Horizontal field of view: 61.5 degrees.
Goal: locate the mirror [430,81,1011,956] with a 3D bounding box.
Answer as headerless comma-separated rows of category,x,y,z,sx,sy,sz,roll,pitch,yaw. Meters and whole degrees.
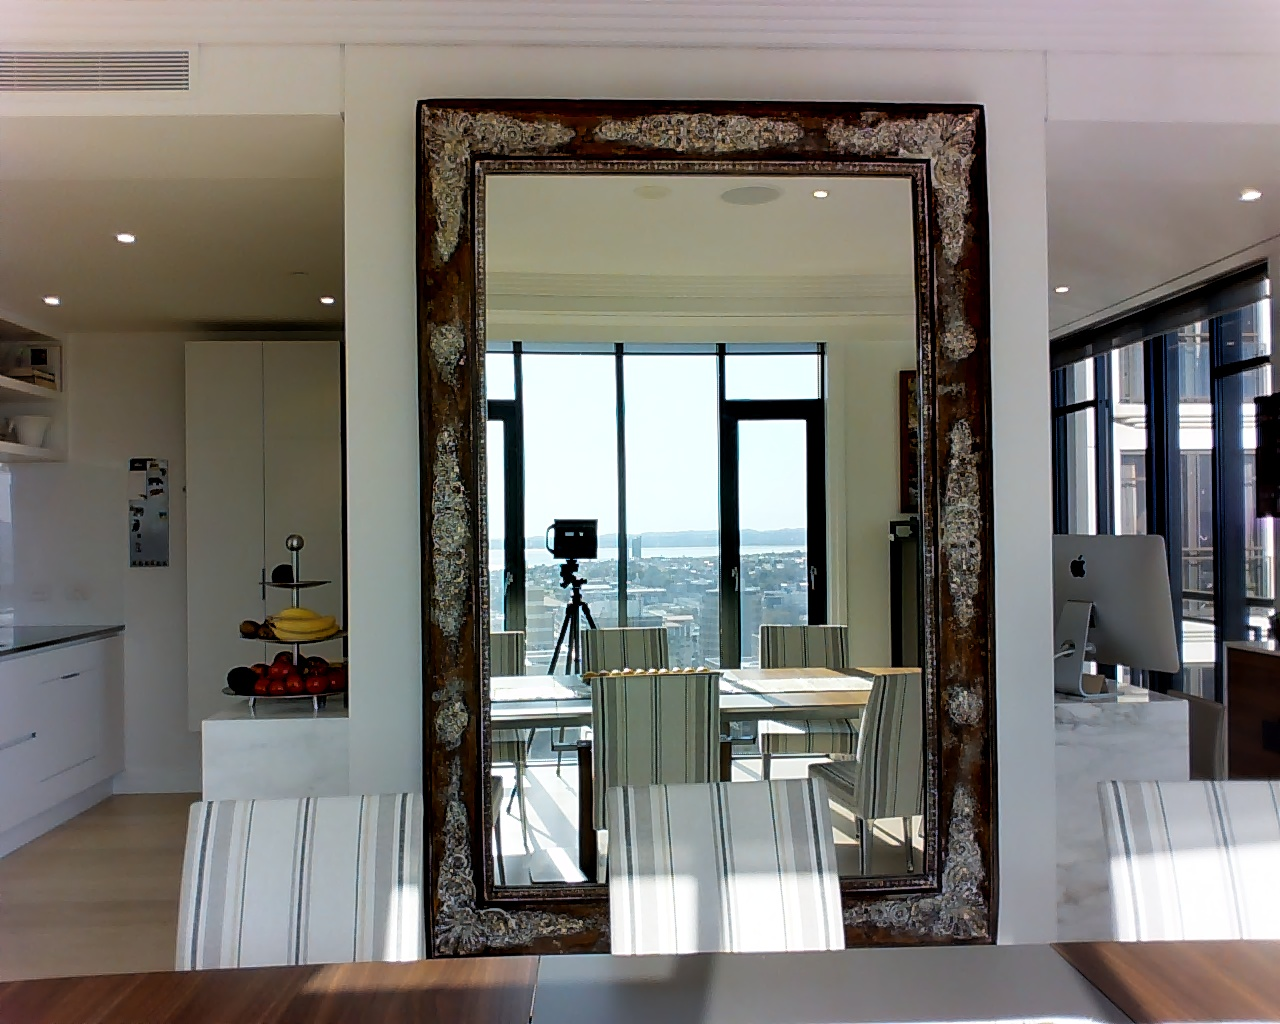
mirror,0.210,0.000,2.840,1.460,2.221,0.150,-1,-1,-3
